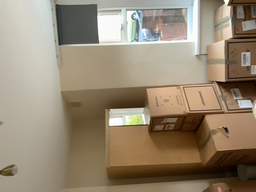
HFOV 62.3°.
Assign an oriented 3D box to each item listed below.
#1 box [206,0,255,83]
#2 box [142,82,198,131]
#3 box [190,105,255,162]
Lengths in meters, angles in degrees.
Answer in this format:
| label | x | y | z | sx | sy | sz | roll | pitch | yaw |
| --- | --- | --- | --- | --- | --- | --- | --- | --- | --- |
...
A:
| label | x | y | z | sx | sy | sz | roll | pitch | yaw |
| --- | --- | --- | --- | --- | --- | --- | --- | --- | --- |
| box | 1.300 | -0.640 | 2.550 | 0.470 | 0.500 | 0.890 | -109 | 17 | -78 |
| box | 0.500 | 0.140 | 2.720 | 0.440 | 0.570 | 0.450 | 94 | 173 | -61 |
| box | 1.240 | 0.450 | 2.470 | 0.590 | 0.800 | 0.440 | 93 | 173 | -60 |
